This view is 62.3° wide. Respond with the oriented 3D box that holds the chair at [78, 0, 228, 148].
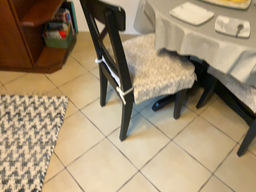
[{"bbox_3d":[0.060,-0.200,1.240,0.510,0.880,0.480,-17,51,-17],"label":"chair"}]
